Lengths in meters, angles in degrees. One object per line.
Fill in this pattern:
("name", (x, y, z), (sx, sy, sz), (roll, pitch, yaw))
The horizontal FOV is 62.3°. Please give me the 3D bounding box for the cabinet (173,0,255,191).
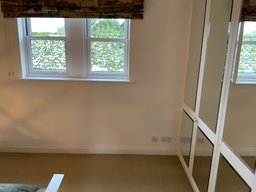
("cabinet", (0.860, -0.070, 1.900), (0.310, 2.350, 1.760), (1, 15, -2))
